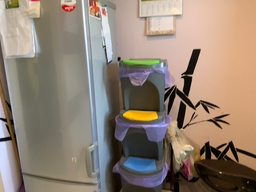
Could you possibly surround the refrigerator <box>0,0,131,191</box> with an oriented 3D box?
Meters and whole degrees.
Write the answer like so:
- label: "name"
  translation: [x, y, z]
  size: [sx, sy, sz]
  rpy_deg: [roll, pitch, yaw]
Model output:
- label: "refrigerator"
  translation: [-0.400, 0.230, 1.620]
  size: [0.640, 1.770, 0.770]
  rpy_deg: [2, 15, 15]
